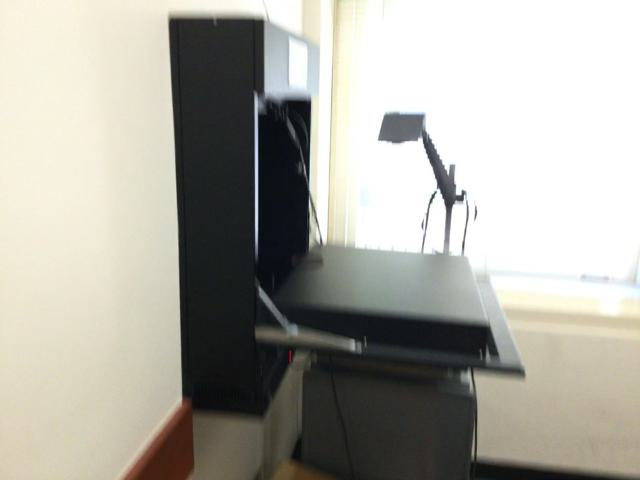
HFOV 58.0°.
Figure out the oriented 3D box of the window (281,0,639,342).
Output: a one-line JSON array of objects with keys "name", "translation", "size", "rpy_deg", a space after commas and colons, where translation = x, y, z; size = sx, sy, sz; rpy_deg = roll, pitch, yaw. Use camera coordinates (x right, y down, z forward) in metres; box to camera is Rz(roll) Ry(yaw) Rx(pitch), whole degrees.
[{"name": "window", "translation": [0.680, -0.660, 1.980], "size": [1.450, 1.810, 0.710], "rpy_deg": [1, 12, 17]}]
